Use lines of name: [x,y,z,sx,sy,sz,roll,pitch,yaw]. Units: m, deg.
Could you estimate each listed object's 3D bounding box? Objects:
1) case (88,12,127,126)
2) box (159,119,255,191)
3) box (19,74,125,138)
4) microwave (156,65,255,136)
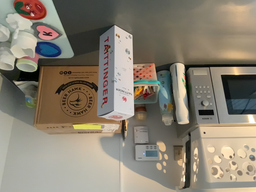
case: [-0.070,-0.100,0.780,0.120,0.400,0.130,0,160,-2]
box: [0.500,0.310,1.070,0.600,0.290,0.410,0,160,-2]
box: [-0.250,0.070,1.130,0.460,0.240,0.340,-1,160,-2]
microwave: [0.500,0.050,1.190,0.600,0.270,0.440,-1,160,-2]
